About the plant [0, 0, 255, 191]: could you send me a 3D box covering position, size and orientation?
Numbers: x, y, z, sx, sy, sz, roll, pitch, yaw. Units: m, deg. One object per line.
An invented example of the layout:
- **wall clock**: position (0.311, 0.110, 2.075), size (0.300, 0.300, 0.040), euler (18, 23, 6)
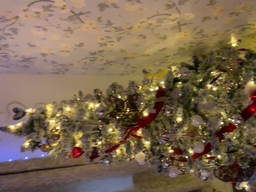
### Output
- **plant**: position (0.120, 0.140, 1.230), size (0.840, 1.890, 0.840), euler (140, 127, -66)
